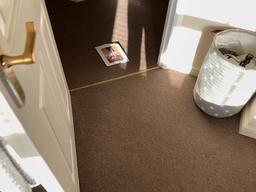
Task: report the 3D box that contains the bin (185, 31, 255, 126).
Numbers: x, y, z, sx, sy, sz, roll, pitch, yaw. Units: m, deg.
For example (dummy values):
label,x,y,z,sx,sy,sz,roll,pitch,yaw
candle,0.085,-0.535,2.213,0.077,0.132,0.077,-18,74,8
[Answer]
label,x,y,z,sx,sy,sz,roll,pitch,yaw
bin,0.650,-0.110,1.430,0.340,0.460,0.320,21,53,14
